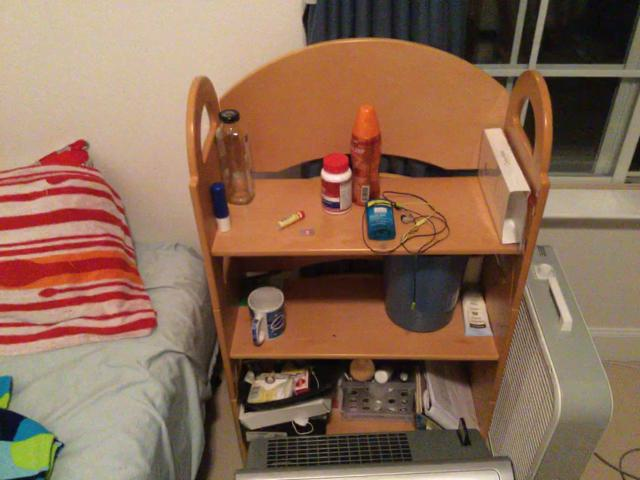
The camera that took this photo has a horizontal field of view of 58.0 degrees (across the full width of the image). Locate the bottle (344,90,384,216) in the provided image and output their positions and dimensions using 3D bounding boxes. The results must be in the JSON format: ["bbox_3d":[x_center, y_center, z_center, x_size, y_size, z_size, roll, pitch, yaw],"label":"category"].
[{"bbox_3d":[0.090,-0.180,1.190,0.070,0.210,0.150,3,34,5],"label":"bottle"}]

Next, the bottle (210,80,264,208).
[{"bbox_3d":[-0.170,-0.200,1.220,0.070,0.240,0.110,3,34,5],"label":"bottle"}]
